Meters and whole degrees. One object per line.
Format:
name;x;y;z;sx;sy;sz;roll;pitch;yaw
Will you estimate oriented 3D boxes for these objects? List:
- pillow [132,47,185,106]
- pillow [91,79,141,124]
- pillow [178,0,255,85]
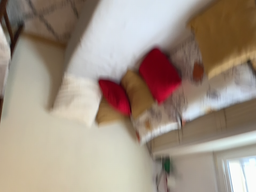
pillow;0.210;-0.130;1.570;0.220;0.280;0.320;15;153;-30
pillow;-0.120;0.070;2.000;0.330;0.250;0.380;13;154;-26
pillow;0.540;-0.320;1.150;0.190;0.390;0.440;-2;164;-32
